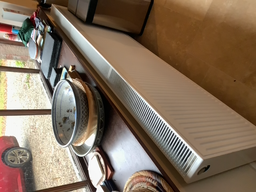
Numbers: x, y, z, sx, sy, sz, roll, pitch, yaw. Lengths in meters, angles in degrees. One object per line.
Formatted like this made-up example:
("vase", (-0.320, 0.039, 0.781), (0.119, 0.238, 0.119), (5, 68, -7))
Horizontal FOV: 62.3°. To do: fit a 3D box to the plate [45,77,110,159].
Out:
("plate", (-0.280, 0.110, 1.110), (0.280, 0.190, 0.290), (-59, 45, 33))
